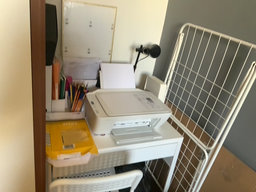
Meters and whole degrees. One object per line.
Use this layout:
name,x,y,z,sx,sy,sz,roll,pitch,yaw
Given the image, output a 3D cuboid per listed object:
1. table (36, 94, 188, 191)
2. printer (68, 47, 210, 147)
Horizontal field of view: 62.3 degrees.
table,-0.170,0.460,1.390,0.740,0.750,0.560,-3,27,-27
printer,0.010,-0.050,1.280,0.600,0.310,0.600,-3,26,-26
